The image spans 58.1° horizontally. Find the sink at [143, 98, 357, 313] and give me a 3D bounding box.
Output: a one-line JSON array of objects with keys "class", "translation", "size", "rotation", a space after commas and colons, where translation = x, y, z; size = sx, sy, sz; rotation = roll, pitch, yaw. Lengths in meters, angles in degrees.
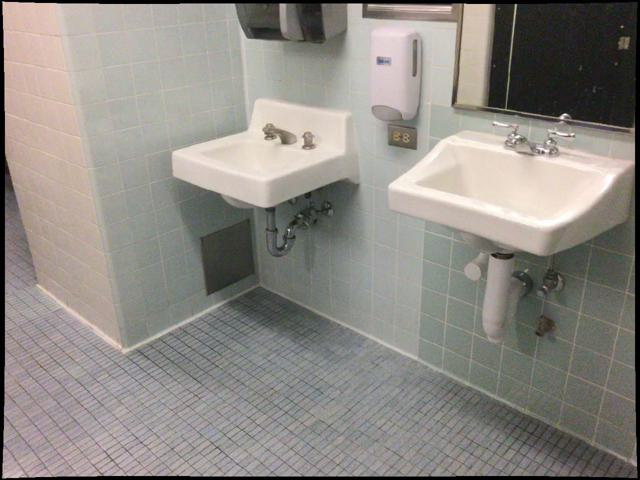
[{"class": "sink", "translation": [-0.249, -0.170, 2.190], "size": [0.609, 0.571, 0.470], "rotation": [20, 34, 38]}]

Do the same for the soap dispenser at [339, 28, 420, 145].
[{"class": "soap dispenser", "translation": [0.190, -0.501, 1.870], "size": [0.230, 0.331, 0.110], "rotation": [20, 34, 38]}]

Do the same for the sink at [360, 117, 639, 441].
[{"class": "sink", "translation": [0.469, 0.060, 1.610], "size": [0.539, 0.641, 0.460], "rotation": [20, 34, 38]}]
